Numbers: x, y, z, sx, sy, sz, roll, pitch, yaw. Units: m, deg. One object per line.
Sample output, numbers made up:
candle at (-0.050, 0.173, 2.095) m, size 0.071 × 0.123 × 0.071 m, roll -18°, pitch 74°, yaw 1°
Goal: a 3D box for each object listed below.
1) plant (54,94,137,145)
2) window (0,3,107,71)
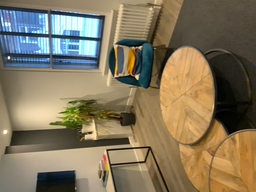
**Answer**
plant at (-0.670, 0.460, 4.190) m, size 0.400 × 1.480 × 0.940 m, roll -110°, pitch 25°, yaw -45°
window at (-1.170, -0.860, 3.340) m, size 0.130 × 1.560 × 0.980 m, roll -111°, pitch 26°, yaw -46°
